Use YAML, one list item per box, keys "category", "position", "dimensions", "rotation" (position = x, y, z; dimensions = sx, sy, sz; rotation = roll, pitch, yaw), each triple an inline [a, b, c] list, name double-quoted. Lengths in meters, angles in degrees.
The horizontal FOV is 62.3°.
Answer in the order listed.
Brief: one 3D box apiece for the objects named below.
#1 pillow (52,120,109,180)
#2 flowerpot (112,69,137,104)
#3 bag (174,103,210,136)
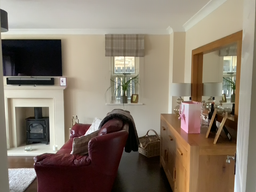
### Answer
- category: "pillow"
  position: [-0.530, 0.610, 2.480]
  dimensions: [0.570, 0.440, 0.200]
  rotation: [-23, 36, -35]
- category: "flowerpot"
  position: [-0.060, -0.200, 4.240]
  dimensions: [0.450, 0.670, 0.370]
  rotation: [0, 6, 5]
- category: "bag"
  position: [0.660, 0.240, 2.240]
  dimensions: [0.270, 0.290, 0.280]
  rotation: [-1, 6, -6]
